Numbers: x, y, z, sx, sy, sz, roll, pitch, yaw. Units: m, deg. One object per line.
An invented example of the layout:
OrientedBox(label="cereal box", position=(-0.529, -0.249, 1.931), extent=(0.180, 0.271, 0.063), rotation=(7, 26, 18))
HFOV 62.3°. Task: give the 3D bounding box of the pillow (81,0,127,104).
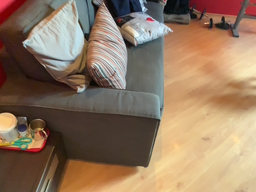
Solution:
OrientedBox(label="pillow", position=(-0.130, -0.320, 1.360), extent=(0.160, 0.300, 0.670), rotation=(-8, 61, 14))

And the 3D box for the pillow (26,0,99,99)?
OrientedBox(label="pillow", position=(-0.330, -0.310, 1.250), extent=(0.240, 0.390, 0.520), rotation=(3, 45, -1))

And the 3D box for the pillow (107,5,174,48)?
OrientedBox(label="pillow", position=(0.100, -0.600, 1.790), extent=(0.410, 0.110, 0.380), rotation=(-28, 53, -28))
